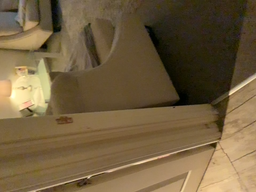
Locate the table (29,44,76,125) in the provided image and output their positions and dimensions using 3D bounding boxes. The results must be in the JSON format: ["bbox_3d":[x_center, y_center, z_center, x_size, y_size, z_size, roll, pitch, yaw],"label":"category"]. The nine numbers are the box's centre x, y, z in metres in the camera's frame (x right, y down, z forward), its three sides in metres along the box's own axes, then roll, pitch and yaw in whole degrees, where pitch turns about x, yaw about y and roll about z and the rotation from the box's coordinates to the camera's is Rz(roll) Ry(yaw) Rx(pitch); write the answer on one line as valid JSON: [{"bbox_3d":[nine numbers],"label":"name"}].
[{"bbox_3d":[-1.220,-0.180,3.320,0.610,0.340,1.080,-46,58,42],"label":"table"}]
